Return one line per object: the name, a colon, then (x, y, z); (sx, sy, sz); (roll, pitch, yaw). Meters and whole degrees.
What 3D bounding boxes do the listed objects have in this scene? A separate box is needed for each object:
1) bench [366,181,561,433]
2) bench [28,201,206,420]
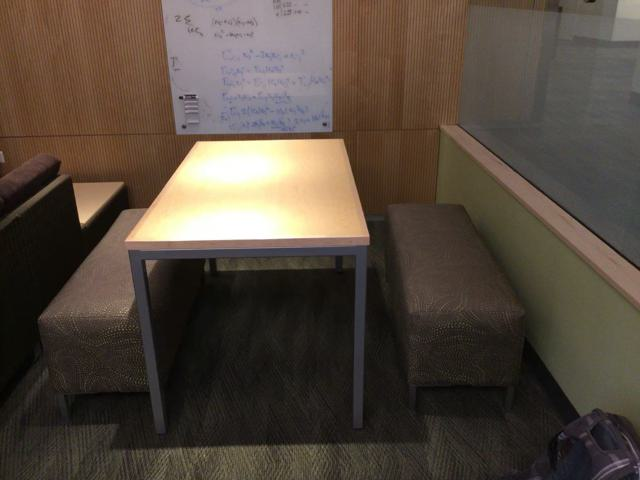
bench: (0.520, 0.210, 2.490); (0.470, 0.550, 1.060); (10, 23, -4)
bench: (-0.770, 0.220, 2.450); (0.530, 0.490, 1.050); (1, 19, -10)
